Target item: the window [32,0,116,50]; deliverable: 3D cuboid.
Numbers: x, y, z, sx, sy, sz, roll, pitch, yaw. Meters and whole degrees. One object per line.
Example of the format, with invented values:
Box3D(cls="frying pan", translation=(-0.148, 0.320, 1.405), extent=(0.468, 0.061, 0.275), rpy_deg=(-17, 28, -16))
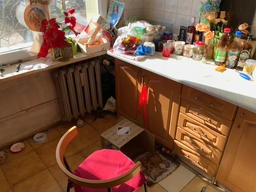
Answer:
Box3D(cls="window", translation=(-0.480, -1.240, 1.850), extent=(0.800, 1.530, 0.130), rpy_deg=(-22, 37, -33))
